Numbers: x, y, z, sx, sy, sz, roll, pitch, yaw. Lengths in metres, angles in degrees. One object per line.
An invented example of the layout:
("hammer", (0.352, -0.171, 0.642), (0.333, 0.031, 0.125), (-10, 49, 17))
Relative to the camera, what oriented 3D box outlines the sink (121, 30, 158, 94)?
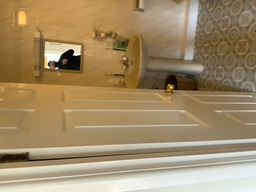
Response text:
("sink", (0.100, -0.360, 2.280), (0.500, 0.180, 0.600), (-152, 66, -70))
